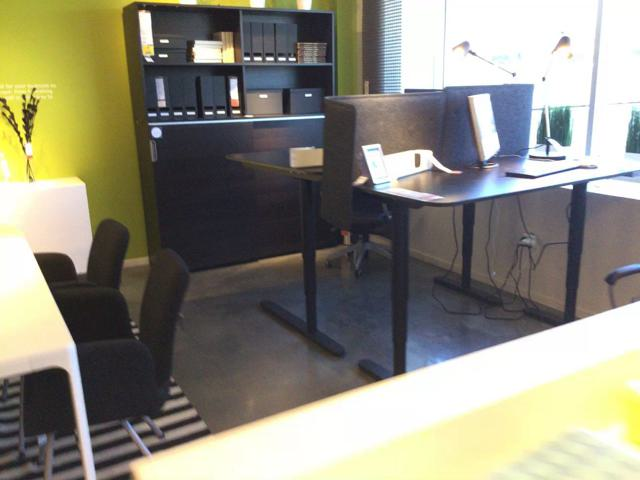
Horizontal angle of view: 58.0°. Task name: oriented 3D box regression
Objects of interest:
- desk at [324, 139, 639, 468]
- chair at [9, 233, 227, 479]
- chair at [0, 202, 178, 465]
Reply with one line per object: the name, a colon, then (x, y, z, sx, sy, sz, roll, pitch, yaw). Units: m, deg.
desk: (0.820, 0.150, 2.720, 1.350, 1.200, 0.810, -4, 12, -28)
chair: (-0.720, 0.480, 2.040, 0.600, 0.890, 0.610, -4, 12, -28)
chair: (-1.100, 0.310, 2.420, 0.760, 0.830, 0.620, -8, 14, -42)
